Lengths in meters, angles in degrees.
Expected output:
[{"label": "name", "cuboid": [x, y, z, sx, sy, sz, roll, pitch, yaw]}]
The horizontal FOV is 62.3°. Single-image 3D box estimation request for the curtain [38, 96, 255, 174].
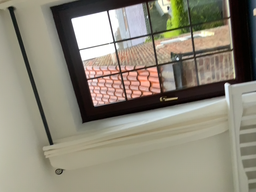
[{"label": "curtain", "cuboid": [0.240, 0.310, 1.690, 0.090, 1.860, 0.320, -85, -15, -77]}]
